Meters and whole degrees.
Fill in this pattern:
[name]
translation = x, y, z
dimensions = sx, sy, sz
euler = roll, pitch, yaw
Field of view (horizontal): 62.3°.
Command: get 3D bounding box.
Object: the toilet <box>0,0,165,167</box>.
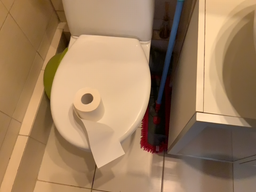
[toilet]
translation = -0.090, -0.130, 0.880
dimensions = 0.390, 0.760, 0.690
euler = 7, 67, 5
